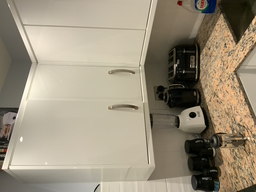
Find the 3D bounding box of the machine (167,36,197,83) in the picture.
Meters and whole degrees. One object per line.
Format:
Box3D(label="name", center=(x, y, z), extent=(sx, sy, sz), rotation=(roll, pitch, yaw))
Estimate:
Box3D(label="machine", center=(0.440, -0.290, 1.760), extent=(0.270, 0.160, 0.320), rotation=(138, 133, -83))
